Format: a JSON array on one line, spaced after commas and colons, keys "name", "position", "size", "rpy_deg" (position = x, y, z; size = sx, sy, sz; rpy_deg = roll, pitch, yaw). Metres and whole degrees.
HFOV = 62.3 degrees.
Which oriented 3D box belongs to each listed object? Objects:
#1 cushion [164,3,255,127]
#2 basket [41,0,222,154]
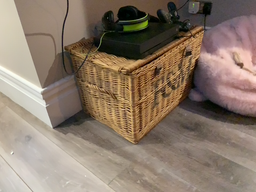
[{"name": "cushion", "position": [0.680, -0.210, 1.150], "size": [0.690, 0.370, 0.650], "rpy_deg": [25, 44, 34]}, {"name": "basket", "position": [0.070, -0.200, 1.100], "size": [0.470, 0.460, 0.740], "rpy_deg": [23, 42, 32]}]
